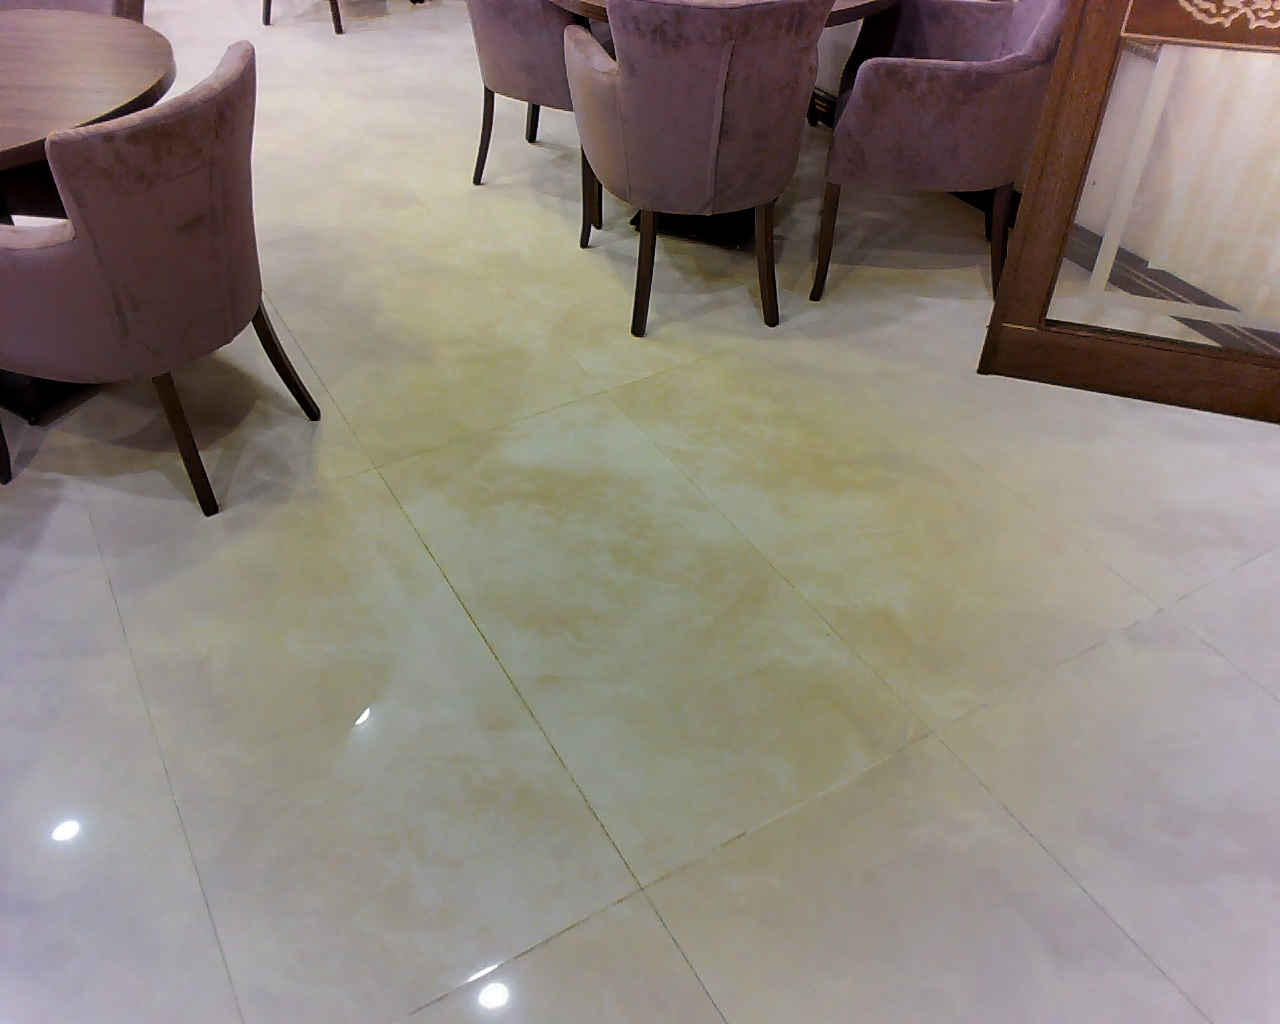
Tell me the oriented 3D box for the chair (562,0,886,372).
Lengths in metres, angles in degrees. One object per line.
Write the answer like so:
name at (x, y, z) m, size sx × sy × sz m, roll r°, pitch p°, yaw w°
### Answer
chair at (0.170, -0.930, 2.790) m, size 0.650 × 0.900 × 0.570 m, roll -7°, pitch 42°, yaw -7°

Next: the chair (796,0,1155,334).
chair at (0.860, -1.070, 2.900) m, size 0.710 × 0.890 × 0.610 m, roll 10°, pitch 43°, yaw 11°

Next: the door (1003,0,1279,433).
door at (1.320, -1.100, 2.010) m, size 0.770 × 2.200 × 0.110 m, roll 11°, pitch 43°, yaw 13°
